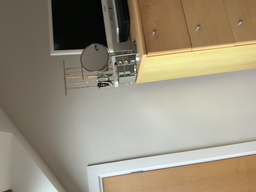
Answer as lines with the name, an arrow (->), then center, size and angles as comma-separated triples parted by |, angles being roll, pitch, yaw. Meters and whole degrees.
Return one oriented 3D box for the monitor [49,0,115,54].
monitor -> -0.320, -0.570, 1.400 | 0.040, 0.360, 0.570 | 96, 161, -74
